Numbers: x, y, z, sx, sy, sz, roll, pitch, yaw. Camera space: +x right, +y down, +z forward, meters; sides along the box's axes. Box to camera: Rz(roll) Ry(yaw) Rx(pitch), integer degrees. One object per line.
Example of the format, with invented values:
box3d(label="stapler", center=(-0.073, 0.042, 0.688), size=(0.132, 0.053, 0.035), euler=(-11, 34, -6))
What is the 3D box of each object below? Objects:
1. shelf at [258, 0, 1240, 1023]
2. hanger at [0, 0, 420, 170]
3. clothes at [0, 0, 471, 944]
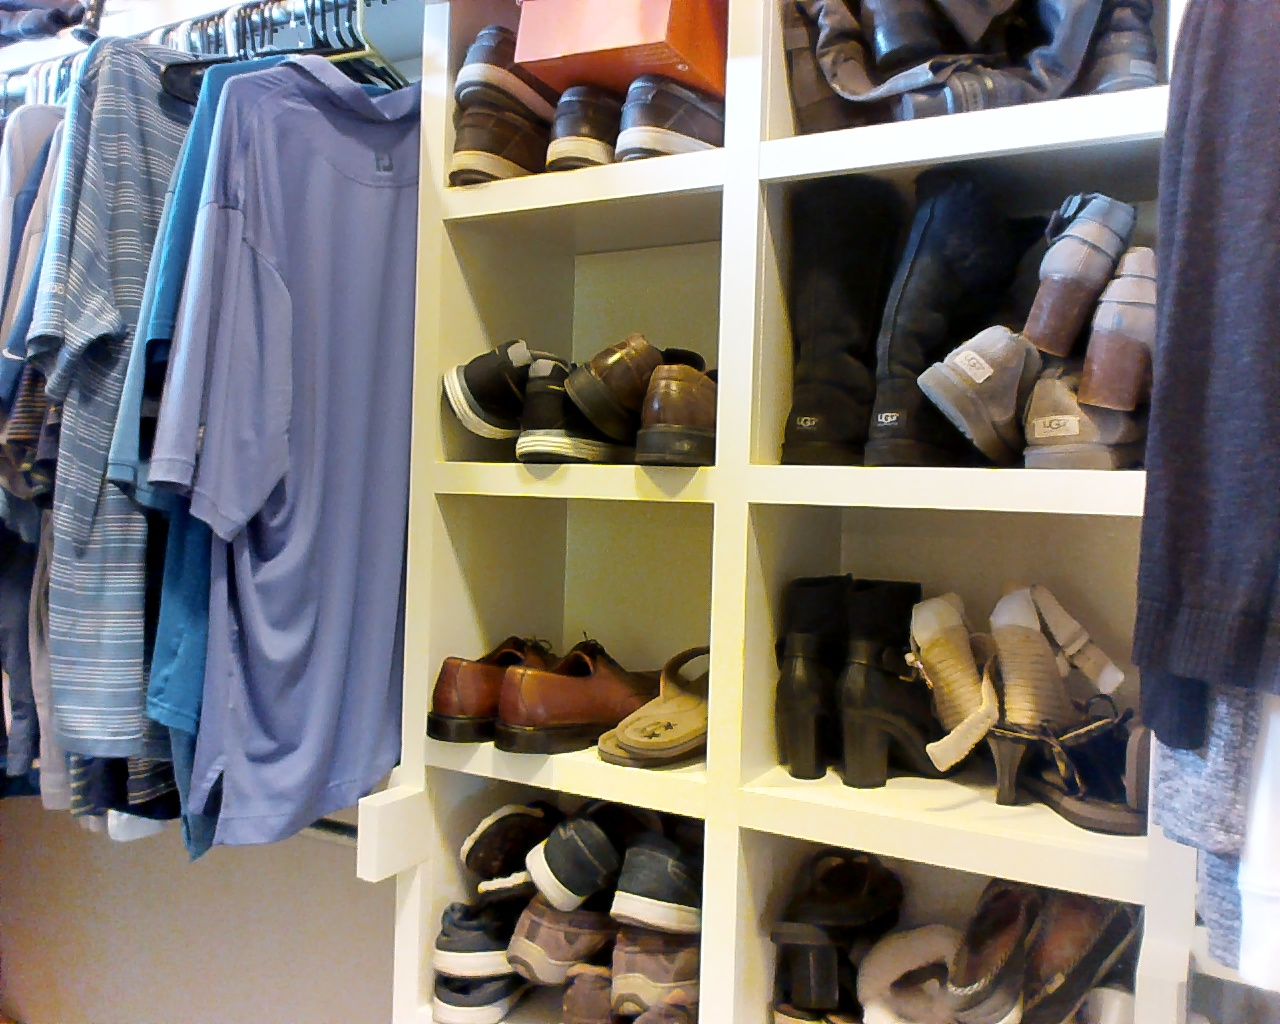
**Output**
box3d(label="shelf", center=(0.120, 0.420, 1.130), size=(0.850, 2.030, 0.560), euler=(2, 0, 29))
box3d(label="hanger", center=(-0.750, -0.640, 1.560), size=(1.030, 0.150, 0.090), euler=(2, 0, 29))
box3d(label="clothes", center=(-0.930, -0.130, 1.510), size=(1.430, 1.050, 0.340), euler=(2, 0, 29))
